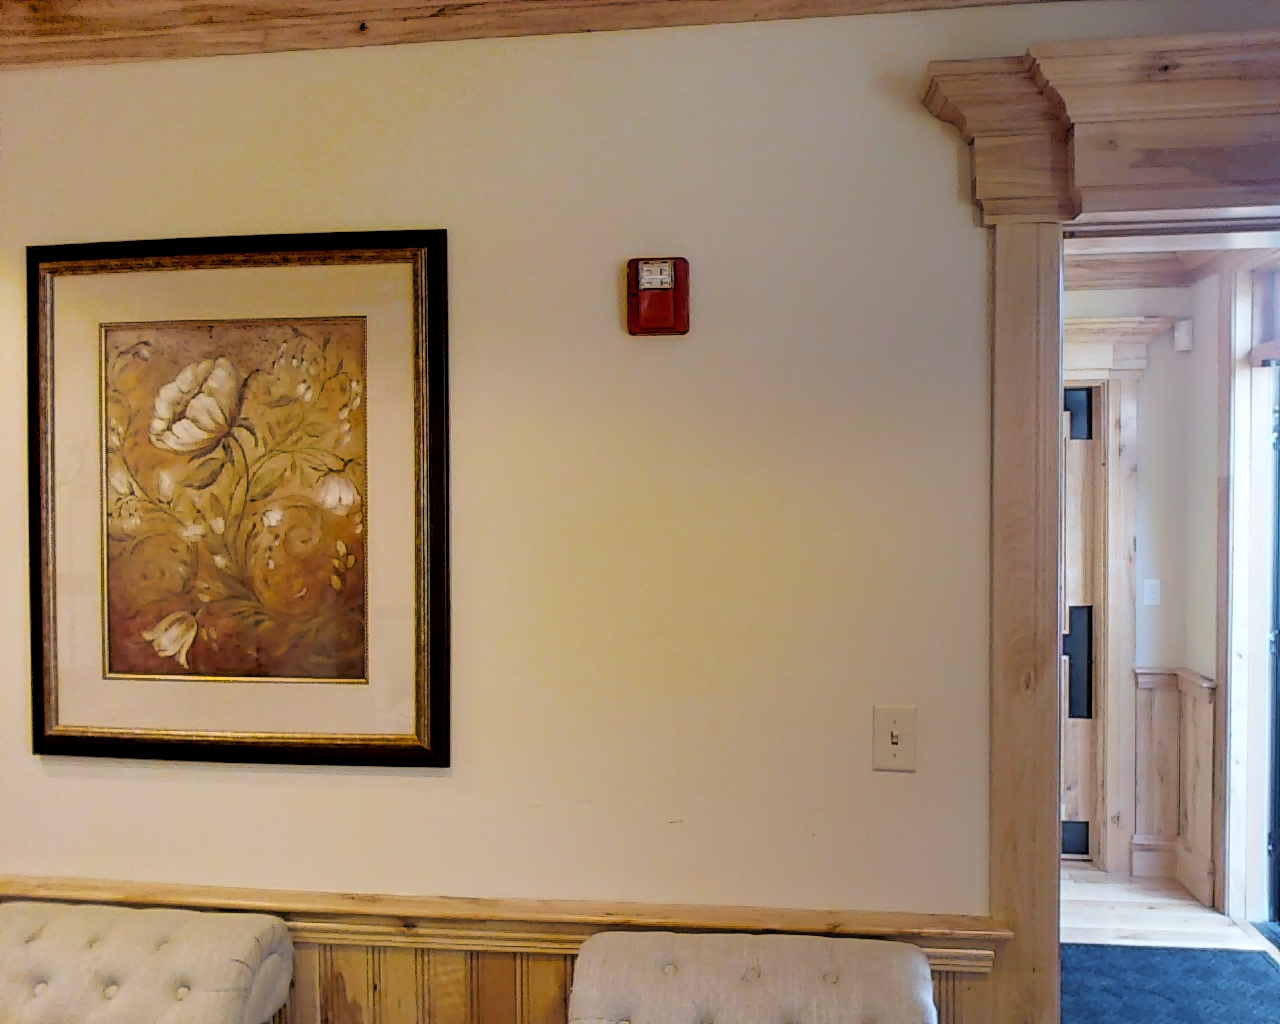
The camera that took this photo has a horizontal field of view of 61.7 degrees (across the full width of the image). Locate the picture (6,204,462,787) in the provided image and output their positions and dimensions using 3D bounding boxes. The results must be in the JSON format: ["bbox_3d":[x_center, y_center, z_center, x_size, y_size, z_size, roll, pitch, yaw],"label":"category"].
[{"bbox_3d":[-0.800,-0.030,2.100,0.910,1.100,0.050,0,1,7],"label":"picture"}]
